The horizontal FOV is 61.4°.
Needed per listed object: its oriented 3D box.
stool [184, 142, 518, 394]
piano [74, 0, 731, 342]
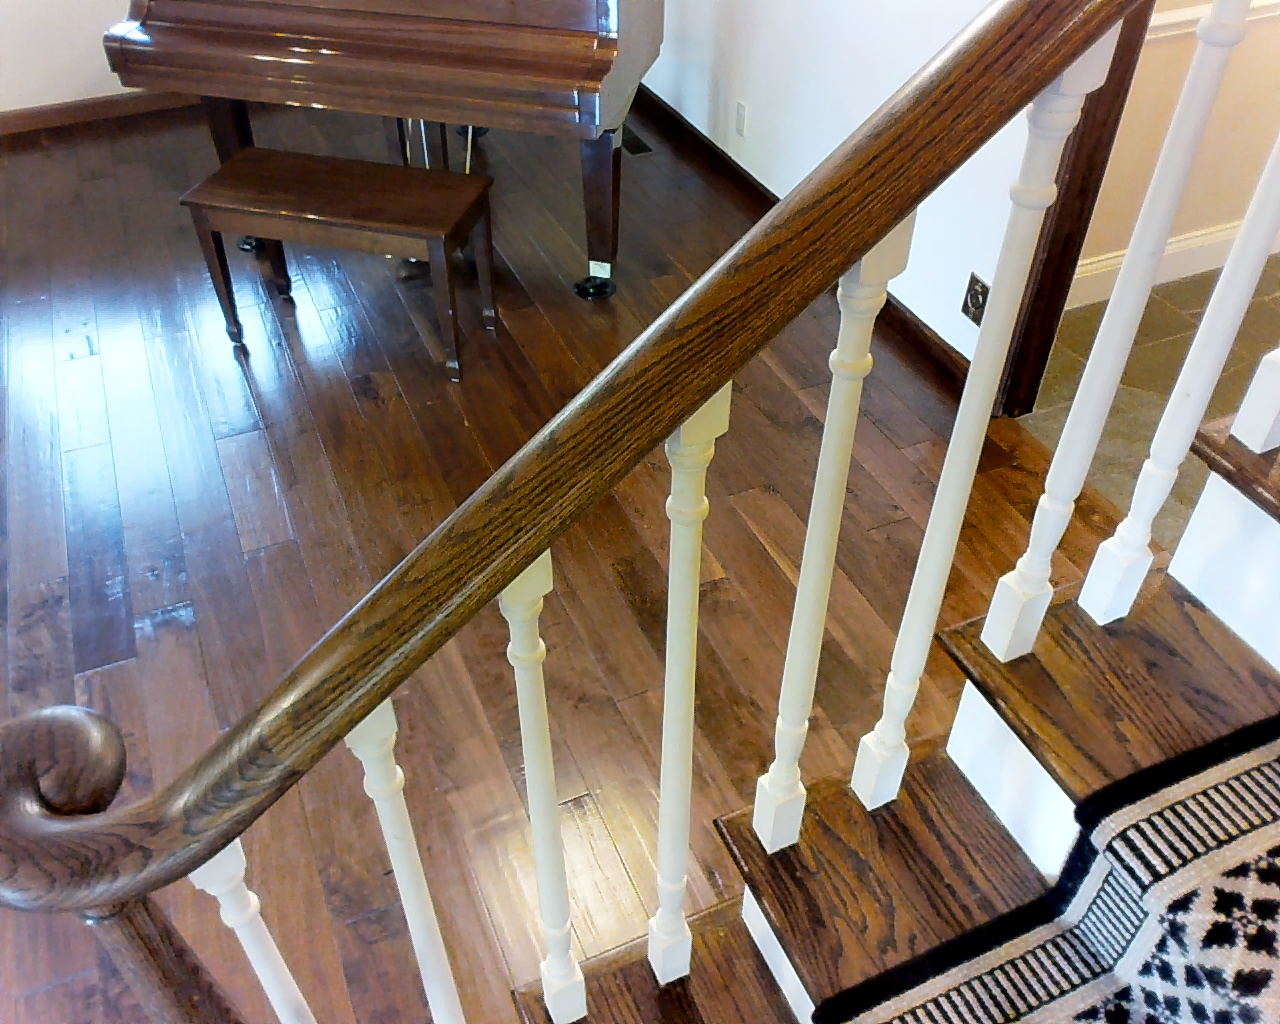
[{"bbox_3d":[-0.800,-0.710,3.120,0.770,0.510,0.380,9,43,10],"label":"stool"},{"bbox_3d":[-0.590,-1.520,3.540,1.500,1.020,1.600,10,43,11],"label":"piano"}]
